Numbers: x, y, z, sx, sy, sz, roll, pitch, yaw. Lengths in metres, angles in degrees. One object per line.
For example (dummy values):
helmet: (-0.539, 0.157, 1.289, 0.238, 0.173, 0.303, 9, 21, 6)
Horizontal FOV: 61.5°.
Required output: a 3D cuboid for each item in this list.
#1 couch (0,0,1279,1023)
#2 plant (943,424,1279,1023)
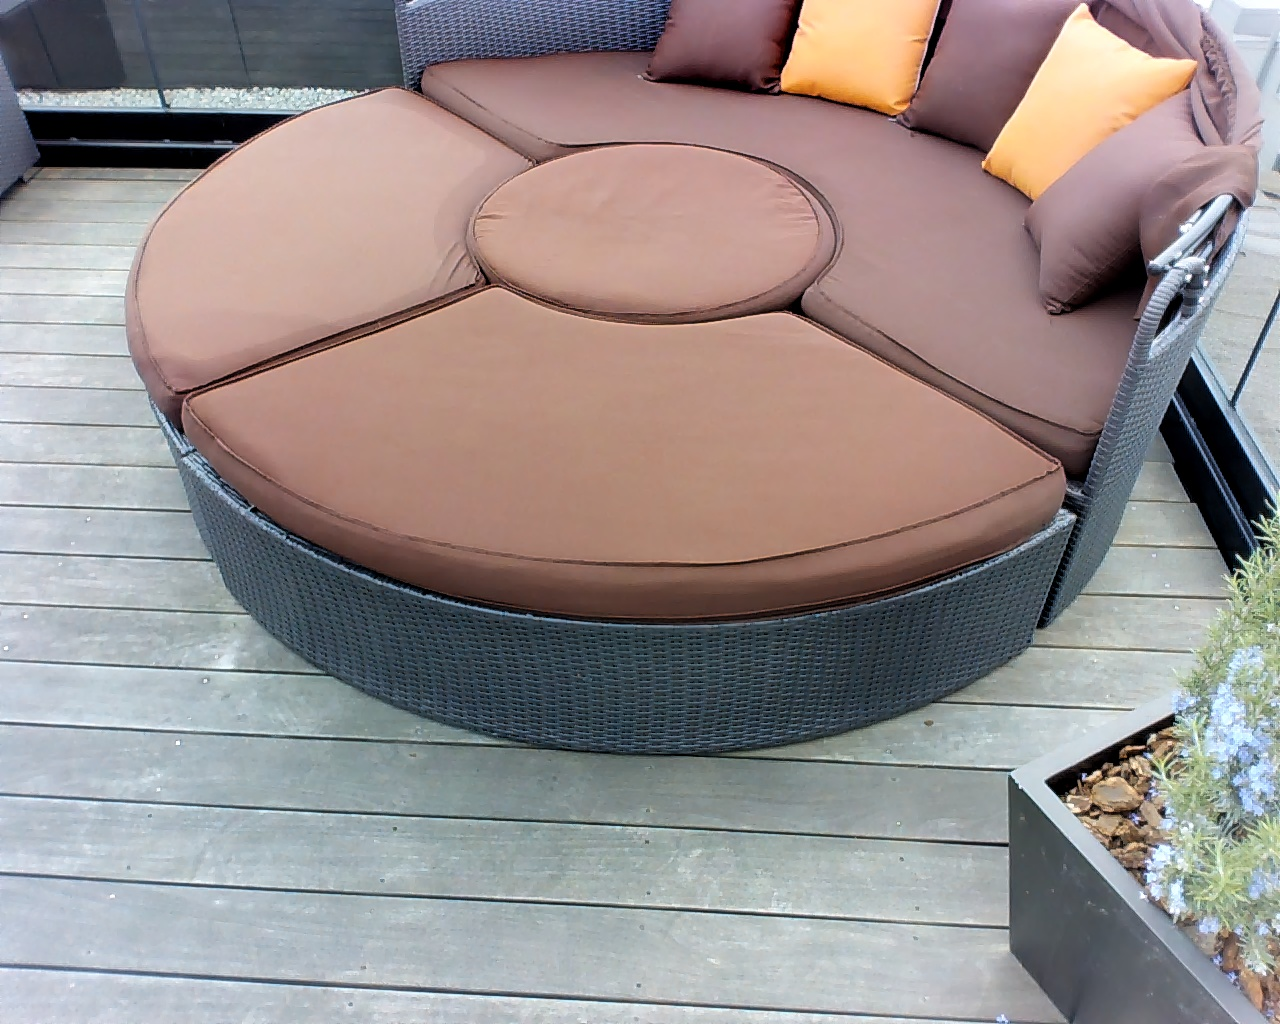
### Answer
couch: (-0.080, -0.560, 2.350, 1.960, 0.820, 2.280, -31, 50, -31)
plant: (0.780, 0.400, 1.230, 0.430, 0.840, 0.570, -18, 45, -20)
